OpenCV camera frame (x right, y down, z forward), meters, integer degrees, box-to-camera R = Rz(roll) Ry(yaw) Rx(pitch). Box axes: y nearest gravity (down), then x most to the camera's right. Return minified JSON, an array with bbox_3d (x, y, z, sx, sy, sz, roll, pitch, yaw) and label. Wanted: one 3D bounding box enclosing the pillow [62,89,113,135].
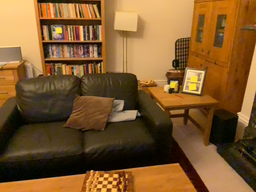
[{"bbox_3d":[-0.380,0.150,2.060,0.440,0.380,0.140,-9,-41,4],"label":"pillow"}]
